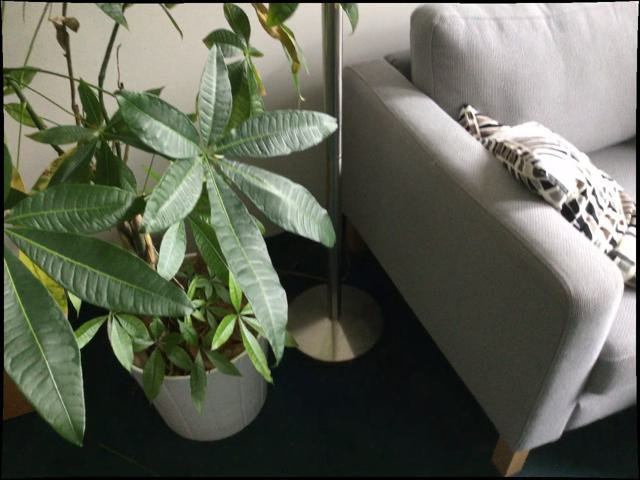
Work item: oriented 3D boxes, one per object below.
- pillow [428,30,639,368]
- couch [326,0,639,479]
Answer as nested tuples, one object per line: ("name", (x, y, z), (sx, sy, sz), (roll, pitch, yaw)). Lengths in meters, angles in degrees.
("pillow", (0.559, -0.120, 1.190), (0.429, 0.320, 0.581), (-13, 46, -11))
("couch", (0.648, -0.130, 1.410), (1.028, 0.771, 0.921), (-13, 46, -11))
